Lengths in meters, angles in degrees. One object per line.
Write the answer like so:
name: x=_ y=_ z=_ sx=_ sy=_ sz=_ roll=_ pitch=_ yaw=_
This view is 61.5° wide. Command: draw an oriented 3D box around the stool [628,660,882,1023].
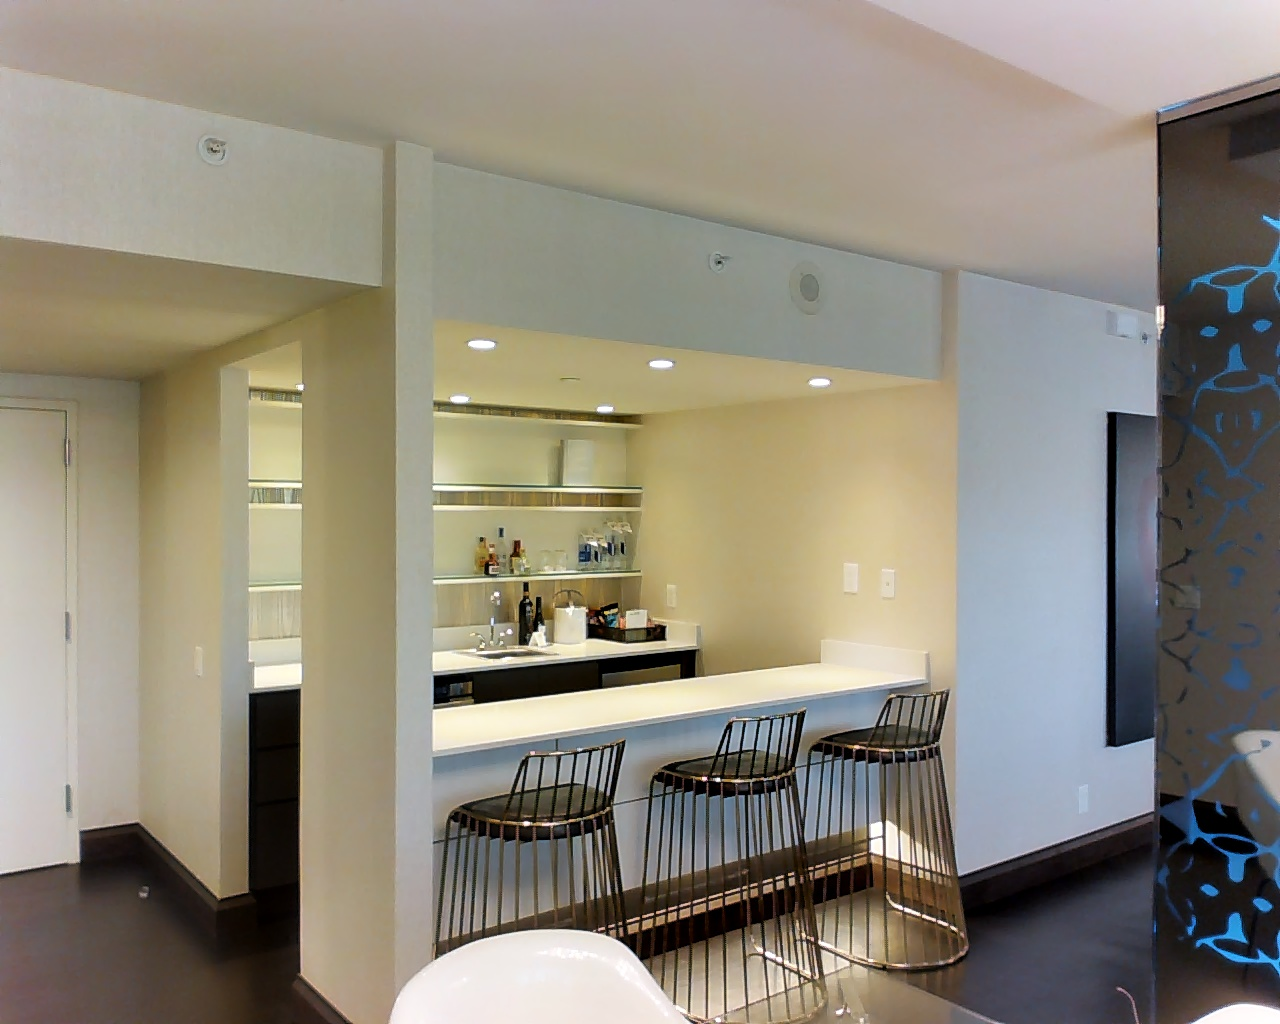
stool: x=0.370 y=1.060 z=3.580 sx=0.530 sy=1.020 sz=0.660 roll=0 pitch=0 yaw=-37

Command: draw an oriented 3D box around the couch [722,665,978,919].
couch: x=0.890 y=1.140 z=4.620 sx=0.740 sy=0.810 sz=0.780 roll=0 pitch=0 yaw=-36

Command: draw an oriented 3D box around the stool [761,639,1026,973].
stool: x=0.950 y=1.040 z=4.080 sx=0.650 sy=1.000 sz=0.730 roll=0 pitch=0 yaw=-37

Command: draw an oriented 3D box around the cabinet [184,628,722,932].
cabinet: x=-0.750 y=1.100 z=4.980 sx=2.410 sy=0.910 sz=0.680 roll=0 pitch=0 yaw=-37

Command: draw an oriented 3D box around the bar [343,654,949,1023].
bar: x=0.150 y=1.100 z=3.900 sx=2.300 sy=0.920 sz=0.610 roll=0 pitch=0 yaw=-37
